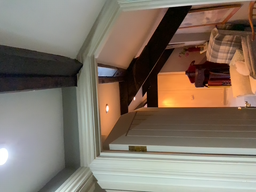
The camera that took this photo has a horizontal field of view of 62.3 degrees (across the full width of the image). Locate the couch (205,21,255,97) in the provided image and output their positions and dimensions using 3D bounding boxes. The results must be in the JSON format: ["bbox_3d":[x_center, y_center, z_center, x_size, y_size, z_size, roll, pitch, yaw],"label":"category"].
[{"bbox_3d":[1.760,-0.530,3.250,0.780,0.910,0.850,65,-154,-67],"label":"couch"}]
